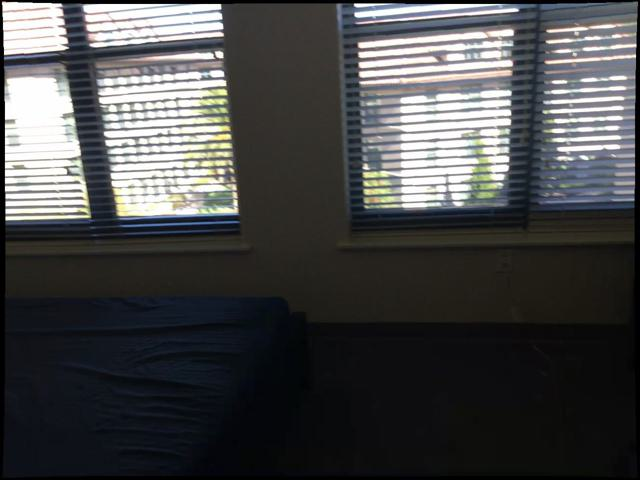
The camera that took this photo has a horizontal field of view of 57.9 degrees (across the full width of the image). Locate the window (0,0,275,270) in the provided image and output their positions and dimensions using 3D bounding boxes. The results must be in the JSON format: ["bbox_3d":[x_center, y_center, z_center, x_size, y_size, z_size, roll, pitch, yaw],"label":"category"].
[{"bbox_3d":[-1.219,-0.571,3.010,1.768,1.371,0.380,-2,19,10],"label":"window"}]

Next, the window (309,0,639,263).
[{"bbox_3d":[0.909,-0.681,2.550,1.778,1.431,0.470,-2,19,10],"label":"window"}]
